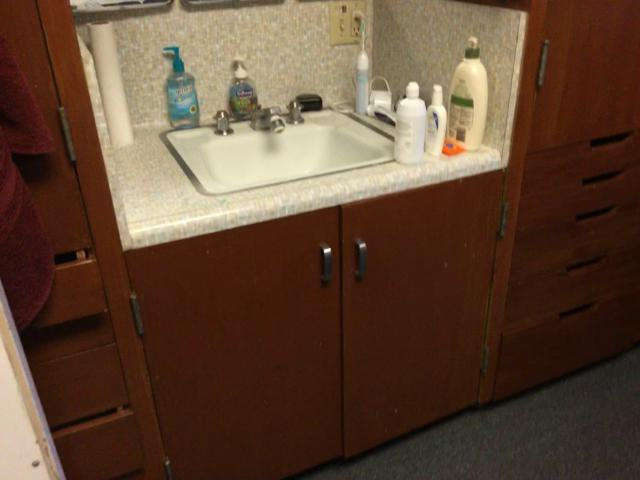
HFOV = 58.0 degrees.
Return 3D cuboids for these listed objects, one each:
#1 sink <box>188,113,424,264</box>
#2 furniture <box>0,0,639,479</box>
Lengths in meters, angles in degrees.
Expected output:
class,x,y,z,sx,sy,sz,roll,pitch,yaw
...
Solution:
class,x,y,z,sx,sy,sz,roll,pitch,yaw
sink,-0.040,-0.150,1.420,0.470,0.160,0.340,-16,31,-20
furniture,0.180,-0.660,1.280,2.480,2.560,0.790,-16,31,-20
